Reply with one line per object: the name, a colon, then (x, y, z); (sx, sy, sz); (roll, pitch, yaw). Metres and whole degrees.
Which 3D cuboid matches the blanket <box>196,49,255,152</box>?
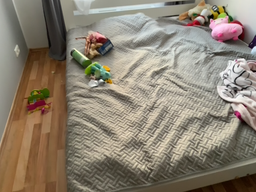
blanket: (0.790, -0.020, 1.310); (0.410, 0.200, 0.730); (-7, 38, -8)
